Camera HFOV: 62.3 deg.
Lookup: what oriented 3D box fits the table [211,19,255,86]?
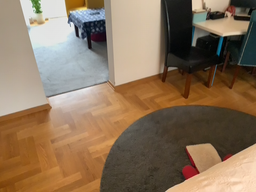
[{"bbox_3d":[1.600,-0.630,2.980,0.600,0.680,0.700,7,35,10],"label":"table"}]

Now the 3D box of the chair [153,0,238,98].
[{"bbox_3d":[0.760,-0.650,2.650,0.560,1.080,0.630,-18,38,-24],"label":"chair"}]

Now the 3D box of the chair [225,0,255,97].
[{"bbox_3d":[1.570,-0.570,2.600,0.410,1.000,0.560,8,35,12],"label":"chair"}]

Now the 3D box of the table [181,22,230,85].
[{"bbox_3d":[1.020,-0.590,2.910,0.190,0.690,0.540,-16,38,-22],"label":"table"}]
